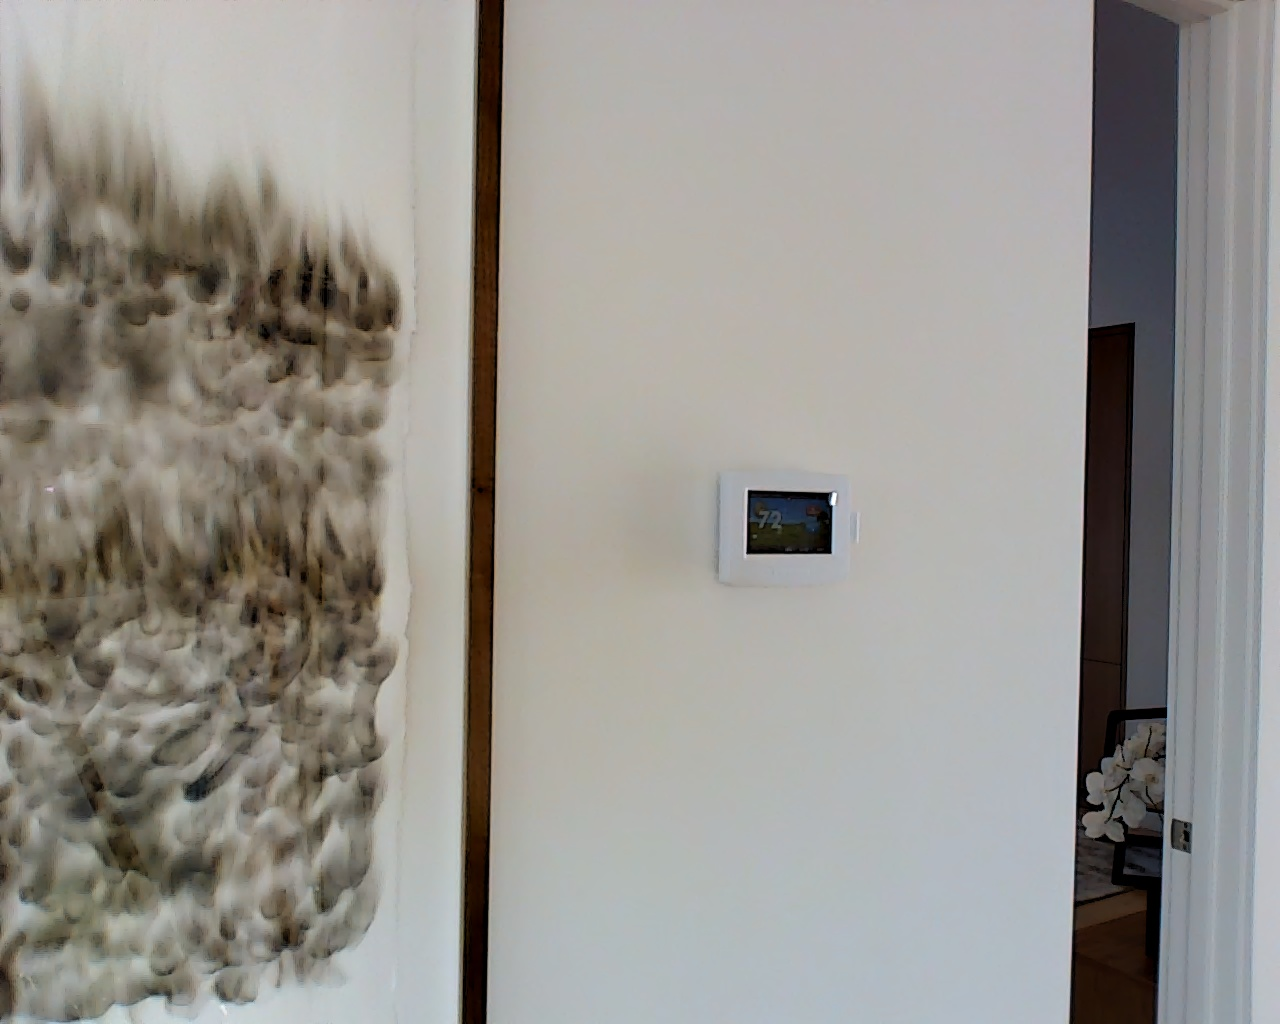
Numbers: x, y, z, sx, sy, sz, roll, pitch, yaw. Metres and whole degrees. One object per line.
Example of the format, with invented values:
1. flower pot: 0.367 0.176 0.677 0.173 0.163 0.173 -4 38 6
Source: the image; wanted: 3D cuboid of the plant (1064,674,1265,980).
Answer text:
1. plant: 1.279 0.740 2.630 0.320 0.620 0.310 1 1 -34
